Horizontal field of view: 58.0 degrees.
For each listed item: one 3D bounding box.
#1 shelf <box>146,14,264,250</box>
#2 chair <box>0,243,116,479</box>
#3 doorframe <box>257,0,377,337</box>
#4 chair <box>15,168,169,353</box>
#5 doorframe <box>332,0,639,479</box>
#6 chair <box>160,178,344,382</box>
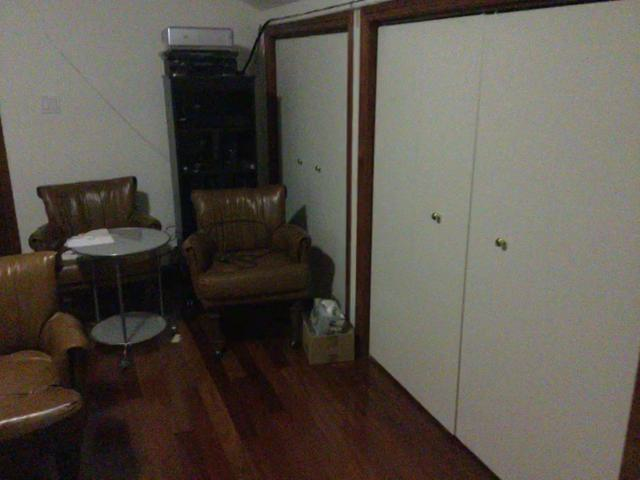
[{"bbox_3d":[-0.680,-0.630,3.430,0.550,1.250,0.490,-5,17,-25],"label":"shelf"},{"bbox_3d":[-1.060,0.510,1.820,0.670,0.790,0.690,-6,17,-27],"label":"chair"},{"bbox_3d":[-0.090,-0.440,3.330,0.150,1.630,1.190,-5,17,-25],"label":"doorframe"},{"bbox_3d":[-1.280,0.060,3.250,0.680,0.810,0.700,-5,17,-25],"label":"chair"},{"bbox_3d":[0.470,-0.020,2.110,0.130,1.590,1.510,-5,17,-25],"label":"doorframe"},{"bbox_3d":[-0.390,0.150,3.050,0.780,0.820,0.730,-4,16,-20],"label":"chair"}]
